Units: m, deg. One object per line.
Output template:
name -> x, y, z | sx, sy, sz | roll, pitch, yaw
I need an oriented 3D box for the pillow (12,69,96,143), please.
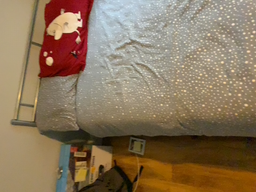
pillow -> -0.540, 0.060, 1.570 | 0.370, 0.460, 0.160 | -60, -25, -17

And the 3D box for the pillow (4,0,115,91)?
pillow -> -0.520, -0.460, 1.660 | 0.700, 0.510, 0.210 | -60, -28, -16
